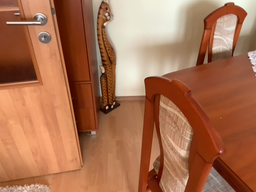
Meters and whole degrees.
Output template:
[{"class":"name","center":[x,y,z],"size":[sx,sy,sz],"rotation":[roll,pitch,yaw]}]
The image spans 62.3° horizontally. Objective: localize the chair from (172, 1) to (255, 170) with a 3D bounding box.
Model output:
[{"class":"chair","center":[0.720,-0.060,1.510],"size":[0.480,1.010,0.480],"rotation":[-19,41,-25]}]

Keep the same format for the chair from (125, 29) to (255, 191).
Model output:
[{"class":"chair","center":[0.350,0.310,0.980],"size":[0.580,1.020,0.480],"rotation":[-15,39,-20]}]
